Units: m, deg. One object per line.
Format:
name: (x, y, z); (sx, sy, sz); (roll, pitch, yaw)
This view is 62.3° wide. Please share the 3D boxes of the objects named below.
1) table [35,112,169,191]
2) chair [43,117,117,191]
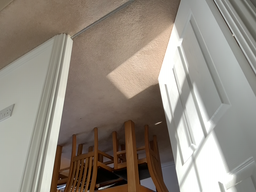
table: (-0.290, 0.900, 2.520); (1.210, 0.770, 0.870); (-22, 140, 22)
chair: (-0.470, 0.850, 2.200); (0.460, 1.030, 0.560); (-24, 140, 23)
